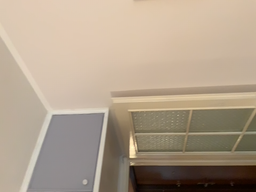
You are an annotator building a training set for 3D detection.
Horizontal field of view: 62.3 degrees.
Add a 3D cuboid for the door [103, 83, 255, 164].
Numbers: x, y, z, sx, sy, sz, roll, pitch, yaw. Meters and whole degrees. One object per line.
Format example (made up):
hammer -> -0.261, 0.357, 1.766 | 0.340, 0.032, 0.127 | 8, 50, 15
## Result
door -> 0.890, 0.260, 1.600 | 0.930, 2.010, 0.090 | 81, -171, -48
